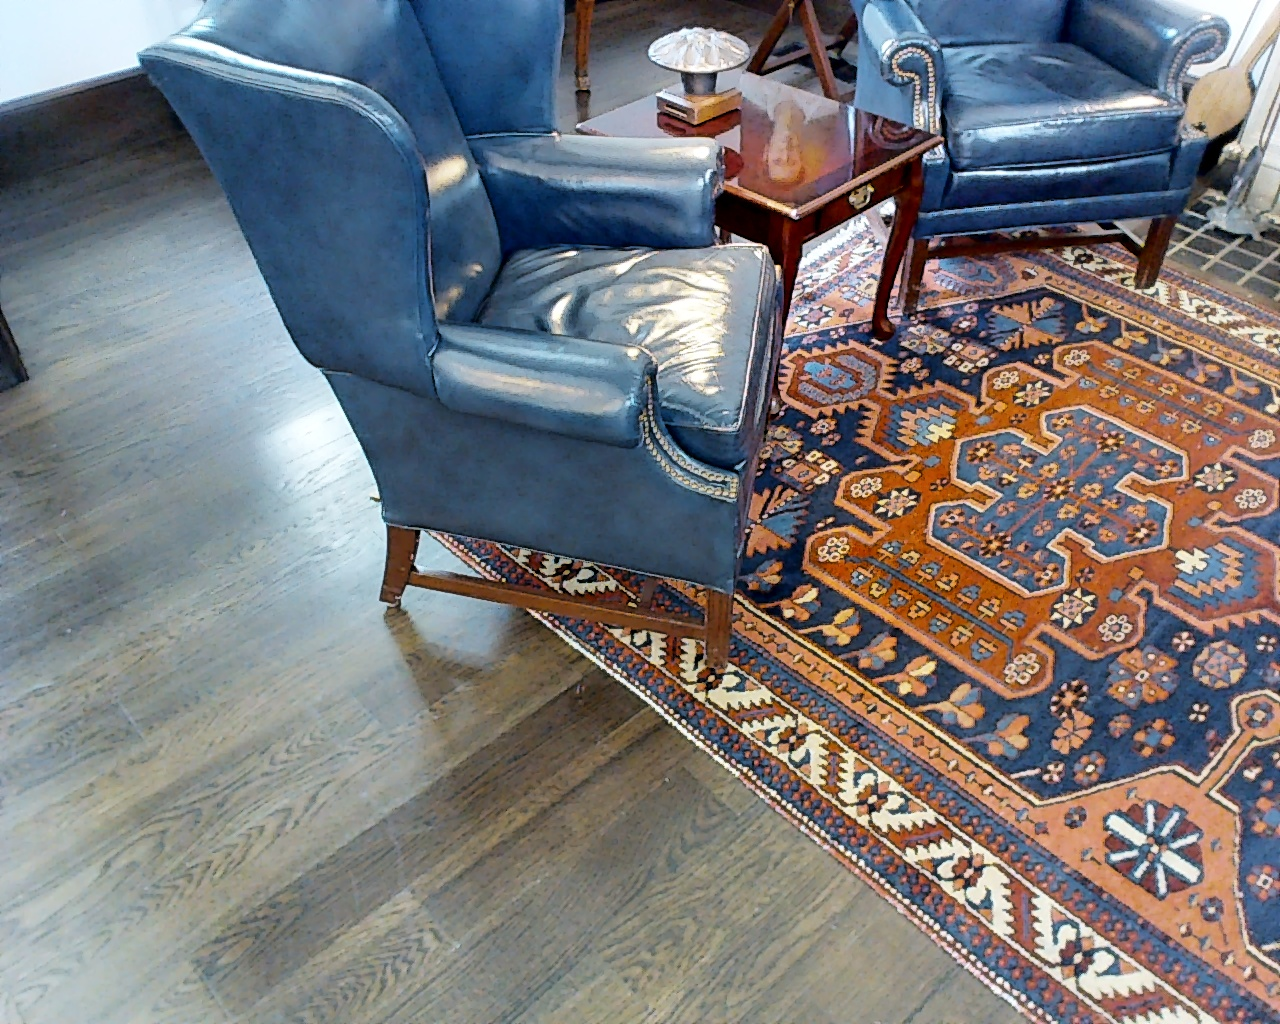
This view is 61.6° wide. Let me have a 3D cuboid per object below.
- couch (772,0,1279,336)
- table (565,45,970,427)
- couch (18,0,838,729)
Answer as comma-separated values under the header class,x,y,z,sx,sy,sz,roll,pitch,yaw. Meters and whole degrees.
class,x,y,z,sx,sy,sz,roll,pitch,yaw
couch,0.960,-1.200,2.730,0.950,1.080,0.920,-7,43,-7
table,0.280,-0.690,2.580,0.590,0.530,0.680,-33,52,-31
couch,-0.170,-0.410,1.860,0.890,1.110,0.950,7,43,8
